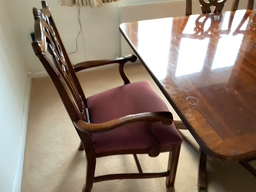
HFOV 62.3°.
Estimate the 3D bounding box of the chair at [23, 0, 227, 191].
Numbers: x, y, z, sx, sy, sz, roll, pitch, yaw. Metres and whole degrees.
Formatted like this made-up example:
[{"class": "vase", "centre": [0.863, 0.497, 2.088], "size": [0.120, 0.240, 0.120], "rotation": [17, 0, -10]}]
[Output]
[{"class": "chair", "centre": [-0.060, 0.030, 1.140], "size": [0.610, 0.990, 0.590], "rotation": [-10, 40, -13]}]
